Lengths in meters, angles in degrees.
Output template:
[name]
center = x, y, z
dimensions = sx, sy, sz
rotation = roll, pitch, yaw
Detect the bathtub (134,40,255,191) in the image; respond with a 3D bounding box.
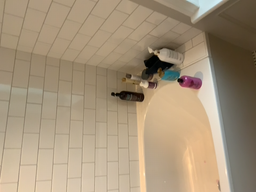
[bathtub]
center = 0.560, 0.690, 1.540
dimensions = 0.800, 0.570, 1.890
rotation = -27, 61, 52
